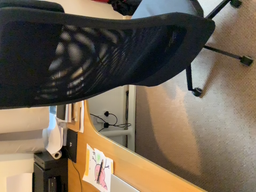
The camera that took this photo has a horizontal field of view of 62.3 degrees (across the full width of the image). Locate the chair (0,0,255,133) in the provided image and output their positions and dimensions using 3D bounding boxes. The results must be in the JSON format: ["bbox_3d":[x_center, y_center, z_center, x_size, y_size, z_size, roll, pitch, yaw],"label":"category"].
[{"bbox_3d":[0.020,-0.320,1.060,0.620,1.260,0.700,-50,51,40],"label":"chair"}]
